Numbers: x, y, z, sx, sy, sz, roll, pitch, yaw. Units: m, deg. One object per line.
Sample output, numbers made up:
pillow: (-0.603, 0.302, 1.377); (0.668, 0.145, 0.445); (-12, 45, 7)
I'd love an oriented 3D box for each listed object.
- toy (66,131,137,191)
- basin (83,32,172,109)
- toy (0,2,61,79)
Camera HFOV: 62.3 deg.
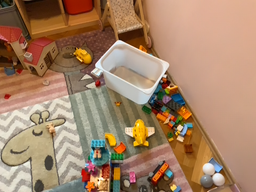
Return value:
toy: (-0.130, 0.380, 1.080); (0.250, 0.270, 0.230); (-24, 62, -16)
basin: (0.000, -0.190, 1.490); (0.500, 0.190, 0.330); (25, 60, 13)
toy: (-0.800, -0.400, 1.540); (0.430, 0.360, 0.320); (14, 58, 6)
